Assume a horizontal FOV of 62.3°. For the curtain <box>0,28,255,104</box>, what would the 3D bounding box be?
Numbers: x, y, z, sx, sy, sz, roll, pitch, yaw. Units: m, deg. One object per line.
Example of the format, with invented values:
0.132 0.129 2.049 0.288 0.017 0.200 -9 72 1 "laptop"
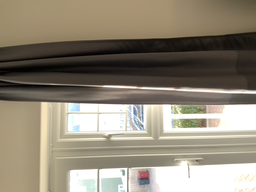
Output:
0.220 -0.160 1.360 0.230 2.480 0.400 137 133 -81 "curtain"
